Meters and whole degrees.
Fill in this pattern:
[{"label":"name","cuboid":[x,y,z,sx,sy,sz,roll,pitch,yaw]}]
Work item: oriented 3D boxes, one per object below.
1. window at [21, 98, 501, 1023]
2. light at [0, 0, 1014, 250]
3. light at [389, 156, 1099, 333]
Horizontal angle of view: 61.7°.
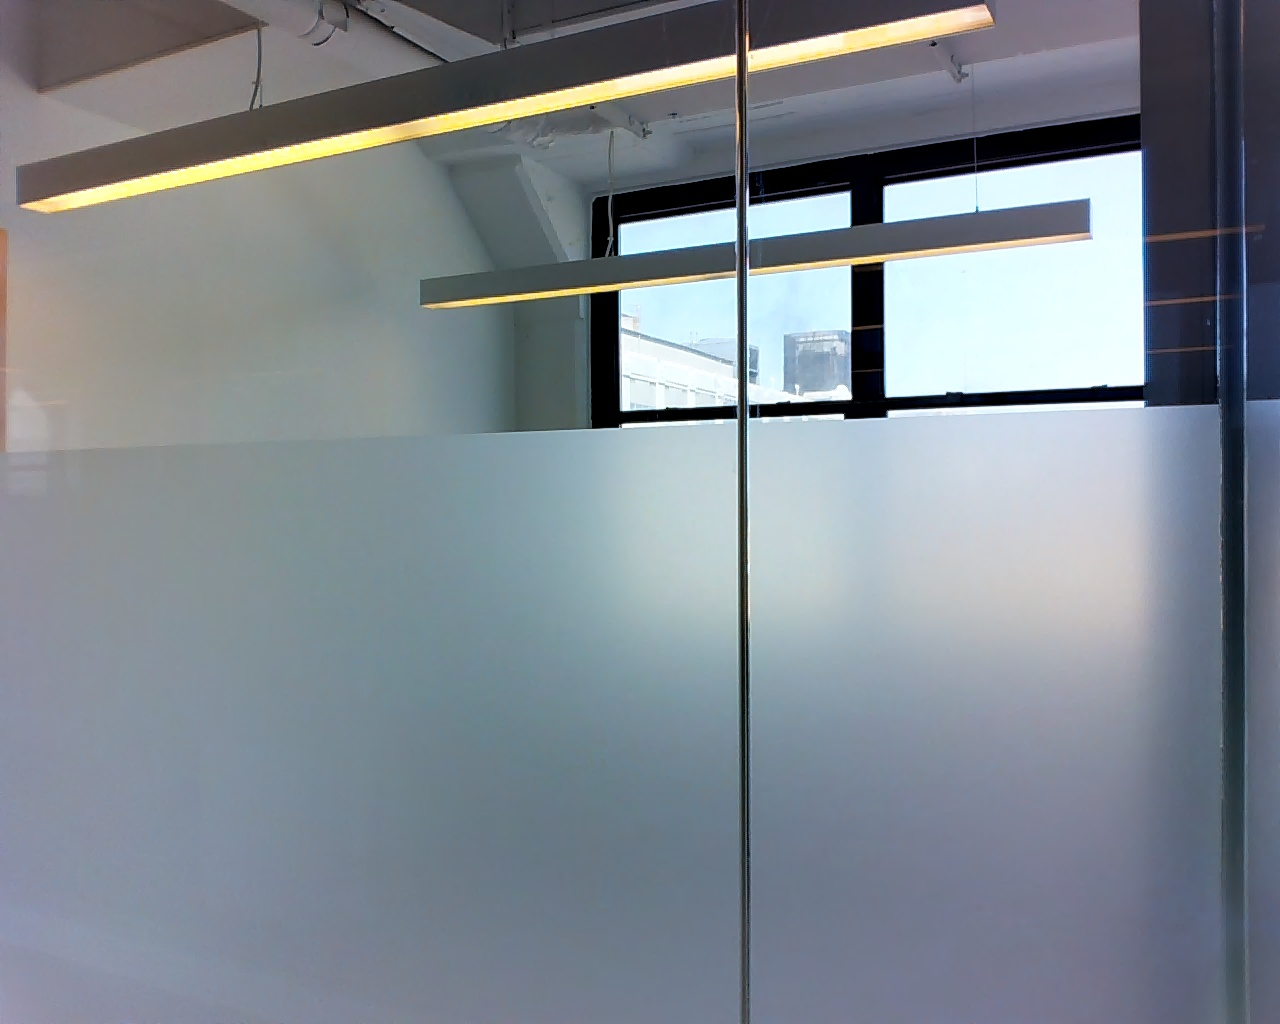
[{"label":"window","cuboid":[-1.200,0.140,4.020,0.090,2.591,2.260,0,0,27]},{"label":"light","cuboid":[-0.600,-0.950,2.340,2.660,0.400,0.290,0,0,27]},{"label":"light","cuboid":[0.210,-0.860,3.670,2.490,0.260,0.280,0,0,27]}]
